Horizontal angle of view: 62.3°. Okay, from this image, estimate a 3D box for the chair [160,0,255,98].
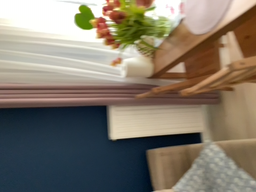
[{"bbox_3d":[0.680,-0.300,1.040,0.420,0.880,0.510,141,125,-67],"label":"chair"}]
